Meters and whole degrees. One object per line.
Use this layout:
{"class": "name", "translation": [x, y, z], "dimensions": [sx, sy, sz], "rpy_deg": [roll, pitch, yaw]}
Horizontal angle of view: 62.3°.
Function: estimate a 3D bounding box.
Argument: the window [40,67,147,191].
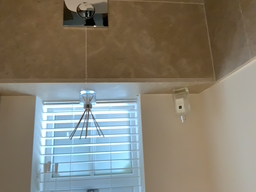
{"class": "window", "translation": [-0.180, 0.440, 1.170], "dimensions": [0.540, 1.210, 0.160], "rpy_deg": [-1, 166, -5]}
